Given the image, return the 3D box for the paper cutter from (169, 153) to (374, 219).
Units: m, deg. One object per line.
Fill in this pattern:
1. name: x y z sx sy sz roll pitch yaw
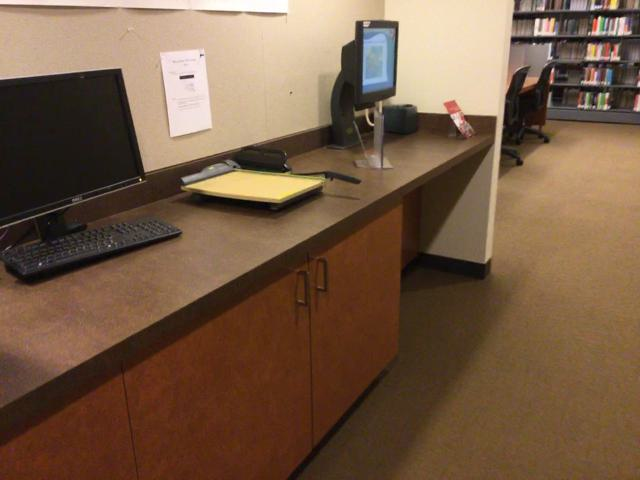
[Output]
1. paper cutter: -0.160 -0.200 1.970 0.570 0.110 0.390 10 17 28
